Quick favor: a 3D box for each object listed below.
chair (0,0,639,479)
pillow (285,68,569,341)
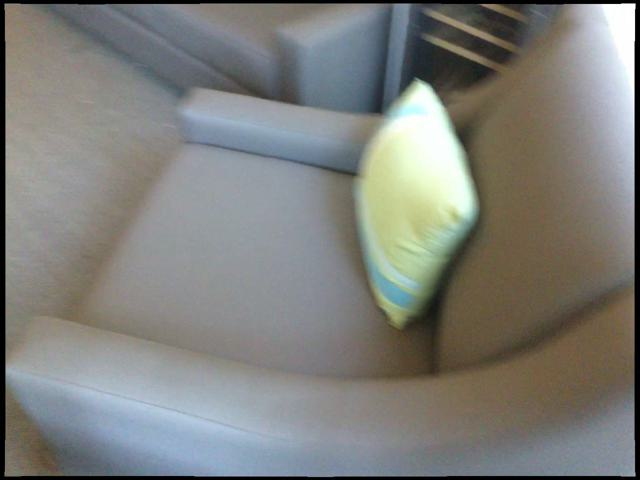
[{"bbox_3d":[0.010,0.090,1.170,1.048,0.901,0.961,12,46,8],"label":"chair"},{"bbox_3d":[0.190,-0.090,1.140,0.370,0.260,0.360,-32,55,-29],"label":"pillow"}]
